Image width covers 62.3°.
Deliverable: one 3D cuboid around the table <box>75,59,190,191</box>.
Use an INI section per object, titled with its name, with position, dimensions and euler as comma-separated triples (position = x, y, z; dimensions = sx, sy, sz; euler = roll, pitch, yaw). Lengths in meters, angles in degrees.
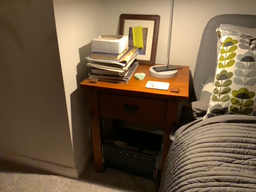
[table]
position = 0.060, 0.150, 1.380
dimensions = 0.580, 0.620, 0.450
euler = 8, 27, 14
